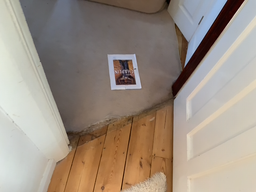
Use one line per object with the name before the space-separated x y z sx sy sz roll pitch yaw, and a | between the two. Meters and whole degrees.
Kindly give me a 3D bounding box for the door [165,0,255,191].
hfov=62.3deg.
door | 0.400 -0.040 0.420 0.050 2.020 0.710 10 61 -4
